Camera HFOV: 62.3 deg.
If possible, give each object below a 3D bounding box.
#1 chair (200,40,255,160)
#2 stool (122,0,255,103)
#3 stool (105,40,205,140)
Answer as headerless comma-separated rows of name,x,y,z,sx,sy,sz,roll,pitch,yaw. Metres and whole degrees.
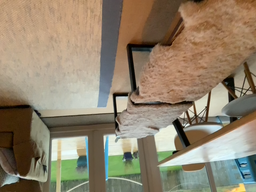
chair,0.990,0.030,1.680,0.490,0.830,0.410,-2,156,-12
stool,0.300,-0.340,1.050,0.450,0.470,0.820,0,156,-15
stool,0.130,0.020,1.830,0.500,0.490,0.910,0,156,-15
